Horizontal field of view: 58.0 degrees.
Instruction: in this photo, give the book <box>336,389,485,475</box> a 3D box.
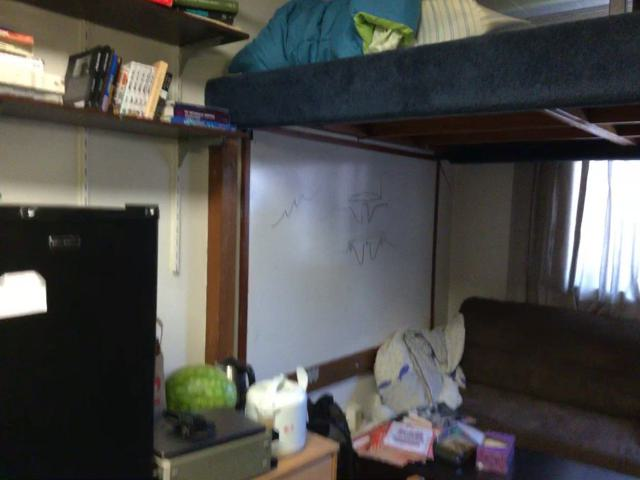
[{"bbox_3d":[0.430,0.850,2.640,0.400,0.120,0.650,3,2,38],"label":"book"}]
